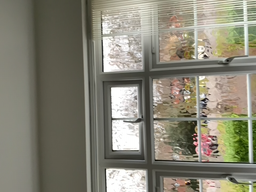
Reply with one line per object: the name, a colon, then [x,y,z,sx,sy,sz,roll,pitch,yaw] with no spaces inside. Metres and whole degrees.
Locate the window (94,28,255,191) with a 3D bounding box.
window: [0.450,0.330,1.420,0.100,1.350,1.480,3,-95,-78]
